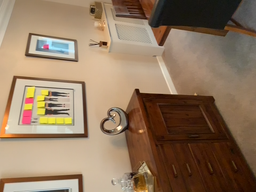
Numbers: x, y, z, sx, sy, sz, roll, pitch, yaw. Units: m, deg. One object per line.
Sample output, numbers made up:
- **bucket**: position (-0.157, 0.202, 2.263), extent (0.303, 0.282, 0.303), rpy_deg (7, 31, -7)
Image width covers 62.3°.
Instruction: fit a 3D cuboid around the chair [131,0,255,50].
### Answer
- **chair**: position (0.600, -0.740, 1.620), extent (0.480, 0.990, 0.470), rpy_deg (114, 151, -48)
